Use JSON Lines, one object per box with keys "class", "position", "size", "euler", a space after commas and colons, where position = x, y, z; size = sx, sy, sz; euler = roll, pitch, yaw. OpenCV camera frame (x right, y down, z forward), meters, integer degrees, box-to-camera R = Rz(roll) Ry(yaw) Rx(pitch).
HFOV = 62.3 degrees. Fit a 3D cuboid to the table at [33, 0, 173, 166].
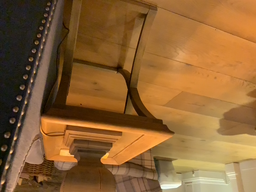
{"class": "table", "position": [-0.140, -0.030, 1.020], "size": [0.410, 0.590, 0.650], "euler": [9, 153, -14]}
